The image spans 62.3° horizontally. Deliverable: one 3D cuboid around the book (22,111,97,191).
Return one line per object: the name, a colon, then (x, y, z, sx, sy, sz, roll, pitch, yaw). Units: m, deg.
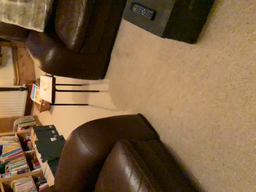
book: (-0.900, 0.790, 2.600, 1.540, 0.320, 0.370, 43, 121, 39)

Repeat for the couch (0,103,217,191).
couch: (-0.170, 0.810, 1.340, 1.090, 0.930, 1.040, 51, 126, 35)
